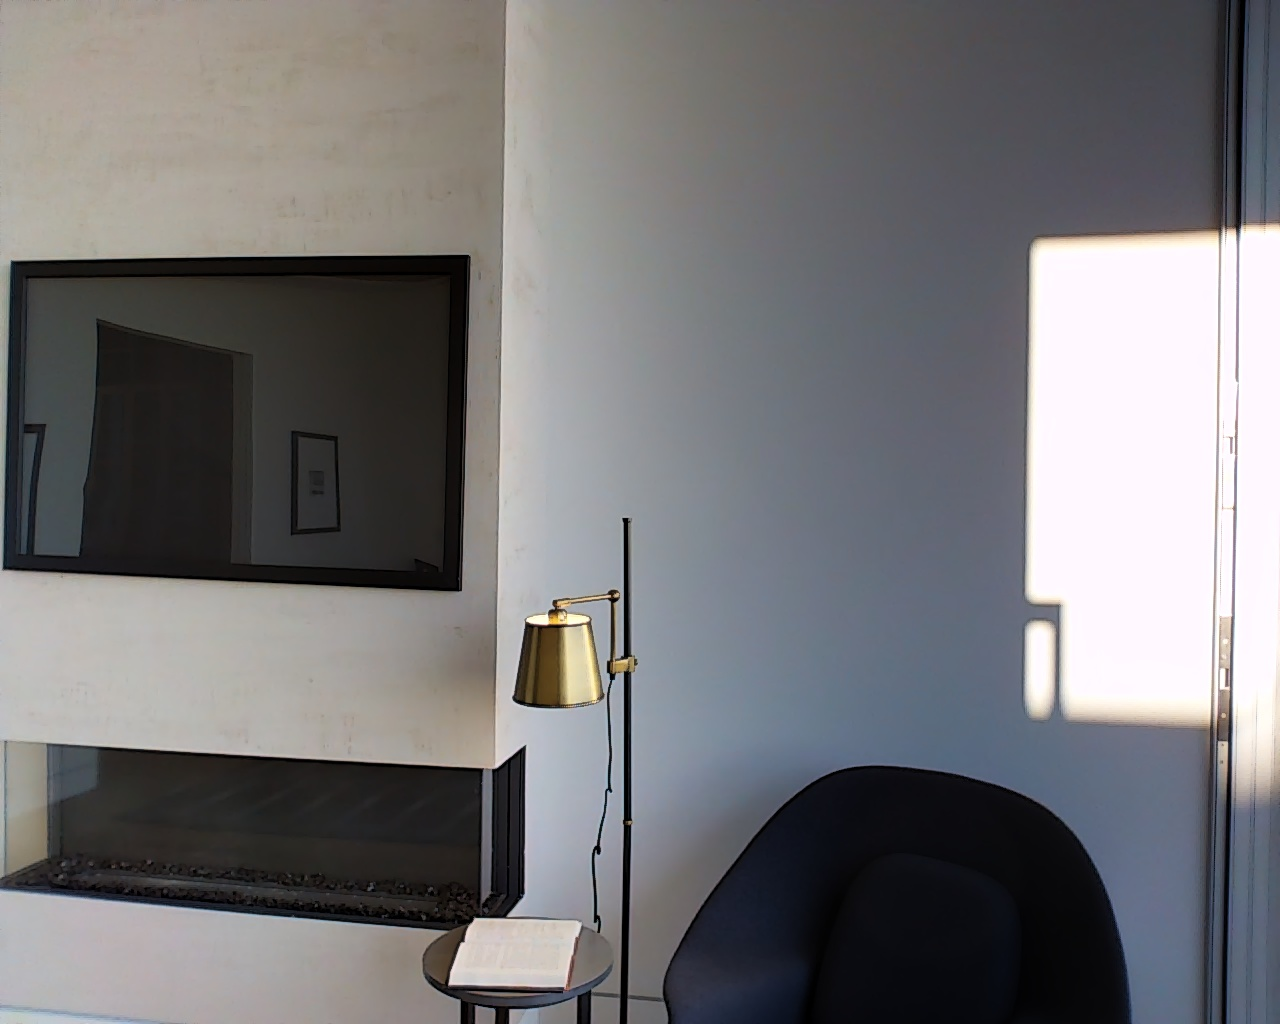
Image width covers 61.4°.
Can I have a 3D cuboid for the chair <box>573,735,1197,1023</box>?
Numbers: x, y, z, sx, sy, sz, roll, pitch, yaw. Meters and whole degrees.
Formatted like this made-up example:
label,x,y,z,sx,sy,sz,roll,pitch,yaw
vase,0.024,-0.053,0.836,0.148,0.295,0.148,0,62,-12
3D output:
label,x,y,z,sx,sy,sz,roll,pitch,yaw
chair,0.560,1.080,2.280,0.990,0.920,1.020,1,0,33
